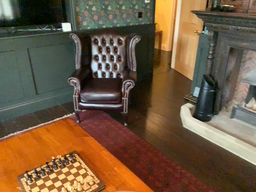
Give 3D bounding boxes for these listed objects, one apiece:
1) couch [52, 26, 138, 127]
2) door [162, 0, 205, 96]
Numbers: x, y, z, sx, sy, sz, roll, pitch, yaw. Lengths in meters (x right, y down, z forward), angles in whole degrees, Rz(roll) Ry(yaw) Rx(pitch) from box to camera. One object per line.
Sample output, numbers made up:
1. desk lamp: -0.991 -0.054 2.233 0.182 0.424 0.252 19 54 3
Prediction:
1. couch: -0.330 -0.300 2.780 0.840 1.040 0.880 3 26 6
2. door: 1.020 -1.250 4.070 0.140 2.300 0.980 -8 27 -17
